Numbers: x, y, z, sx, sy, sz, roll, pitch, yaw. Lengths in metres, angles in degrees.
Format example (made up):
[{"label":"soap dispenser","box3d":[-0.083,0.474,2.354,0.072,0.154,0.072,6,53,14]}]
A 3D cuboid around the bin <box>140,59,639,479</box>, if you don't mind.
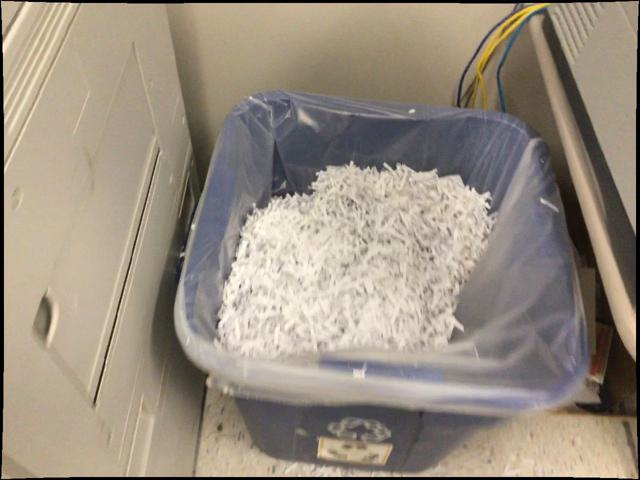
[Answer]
[{"label":"bin","box3d":[0.100,0.100,1.070,0.619,0.580,0.571,2,56,0]}]
